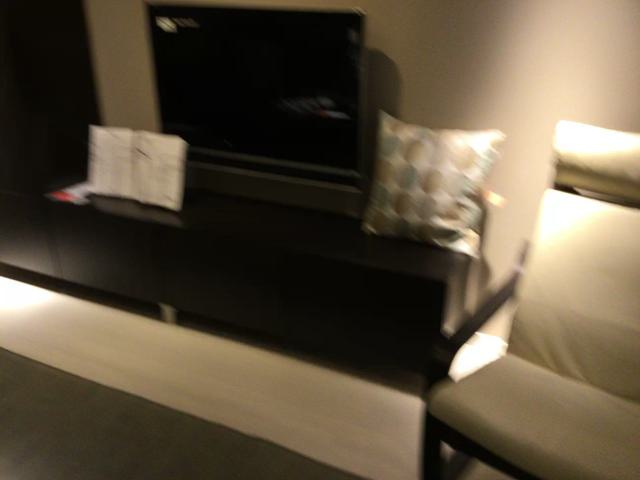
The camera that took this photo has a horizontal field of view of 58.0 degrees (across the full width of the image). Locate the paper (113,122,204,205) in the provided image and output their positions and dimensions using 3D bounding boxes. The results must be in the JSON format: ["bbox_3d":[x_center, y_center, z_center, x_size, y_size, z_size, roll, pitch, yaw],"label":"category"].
[{"bbox_3d":[-0.670,-0.320,2.430,0.260,0.300,0.130,10,50,19],"label":"paper"}]
